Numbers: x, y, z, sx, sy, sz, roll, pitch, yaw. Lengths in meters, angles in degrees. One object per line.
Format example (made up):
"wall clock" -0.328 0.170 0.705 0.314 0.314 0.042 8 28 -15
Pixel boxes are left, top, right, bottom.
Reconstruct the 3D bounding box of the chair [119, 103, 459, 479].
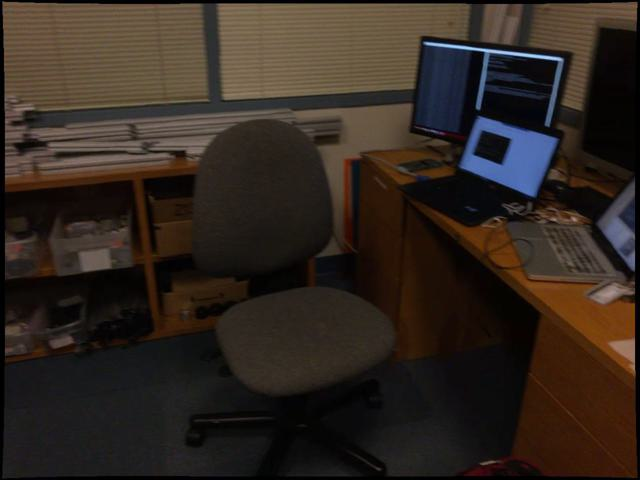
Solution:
"chair" -0.110 0.201 1.750 0.649 1.012 0.670 -16 31 -29

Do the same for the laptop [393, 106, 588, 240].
"laptop" 0.519 -0.241 1.860 0.349 0.240 0.490 -12 29 -22
